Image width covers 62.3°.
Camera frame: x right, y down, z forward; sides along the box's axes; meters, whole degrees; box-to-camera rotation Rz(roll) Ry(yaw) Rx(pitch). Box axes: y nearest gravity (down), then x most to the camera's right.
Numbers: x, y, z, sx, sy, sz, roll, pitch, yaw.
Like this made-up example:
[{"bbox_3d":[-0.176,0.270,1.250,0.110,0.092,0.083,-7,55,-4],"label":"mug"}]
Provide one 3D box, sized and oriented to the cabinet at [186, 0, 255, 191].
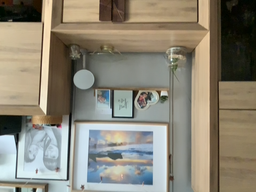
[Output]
[{"bbox_3d":[0.910,-0.310,1.380,0.920,1.940,0.490,1,176,2],"label":"cabinet"}]
